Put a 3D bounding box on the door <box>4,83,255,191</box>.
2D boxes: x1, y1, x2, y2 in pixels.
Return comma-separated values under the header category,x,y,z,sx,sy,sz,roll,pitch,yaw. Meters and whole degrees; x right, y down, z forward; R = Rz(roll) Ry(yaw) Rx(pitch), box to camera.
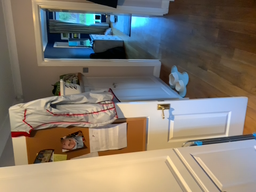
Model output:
category,x,y,z,sx,sy,sz,roll,pitch,yaw
door,0.150,0.400,1.770,0.110,1.990,0.970,-140,49,-69
